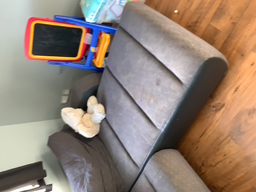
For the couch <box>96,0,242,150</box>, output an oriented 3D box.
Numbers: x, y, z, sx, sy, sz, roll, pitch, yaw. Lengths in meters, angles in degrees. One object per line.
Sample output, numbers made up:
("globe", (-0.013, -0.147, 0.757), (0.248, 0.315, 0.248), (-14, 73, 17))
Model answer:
("couch", (0.210, -0.220, 1.750), (0.950, 0.420, 0.770), (53, 134, 36))
